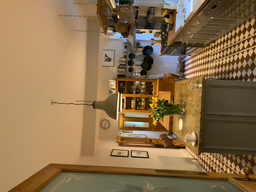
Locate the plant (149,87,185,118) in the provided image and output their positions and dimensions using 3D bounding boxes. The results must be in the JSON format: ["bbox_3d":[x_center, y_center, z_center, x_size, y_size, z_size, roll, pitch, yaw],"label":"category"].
[{"bbox_3d":[0.560,0.090,3.120,0.380,0.440,0.410,-85,-2,-89],"label":"plant"}]
